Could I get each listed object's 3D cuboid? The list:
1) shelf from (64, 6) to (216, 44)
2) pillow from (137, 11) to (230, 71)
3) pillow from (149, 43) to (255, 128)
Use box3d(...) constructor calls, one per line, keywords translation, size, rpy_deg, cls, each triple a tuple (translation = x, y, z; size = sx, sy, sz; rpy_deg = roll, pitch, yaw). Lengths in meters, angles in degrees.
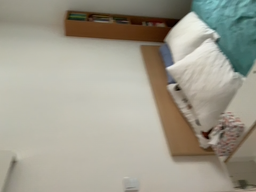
box3d(translation=(0.180, -0.940, 2.840), size=(1.950, 0.310, 0.210), rpy_deg=(2, -47, -9), cls="shelf")
box3d(translation=(0.540, -0.590, 2.130), size=(0.630, 0.600, 0.250), rpy_deg=(-23, -42, -31), cls="pillow")
box3d(translation=(0.600, -0.130, 1.660), size=(0.630, 0.550, 0.230), rpy_deg=(-23, -42, -29), cls="pillow")
